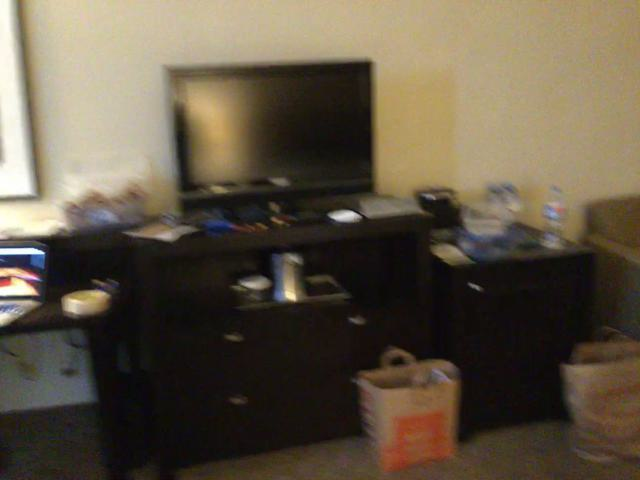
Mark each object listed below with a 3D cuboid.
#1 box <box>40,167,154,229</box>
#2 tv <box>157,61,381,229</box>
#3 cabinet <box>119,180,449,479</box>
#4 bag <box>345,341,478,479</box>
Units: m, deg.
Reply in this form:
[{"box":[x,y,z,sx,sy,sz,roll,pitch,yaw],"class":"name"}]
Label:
[{"box":[-0.900,-0.180,2.380,0.380,0.200,0.250,-4,15,-10],"class":"box"},{"box":[-0.180,-0.380,2.270,0.820,0.590,0.160,-5,15,-10],"class":"tv"},{"box":[-0.140,0.320,2.420,1.160,1.020,0.570,-4,15,-10],"class":"cabinet"},{"box":[0.340,0.660,2.250,0.430,0.410,0.280,-4,15,-10],"class":"bag"}]
